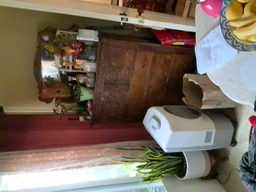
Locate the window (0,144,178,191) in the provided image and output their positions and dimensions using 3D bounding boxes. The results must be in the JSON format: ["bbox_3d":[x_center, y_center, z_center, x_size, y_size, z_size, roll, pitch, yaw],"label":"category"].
[{"bbox_3d":[-0.280,0.870,1.710,1.210,1.450,0.160,-125,40,-59],"label":"window"}]

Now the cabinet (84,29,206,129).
[{"bbox_3d":[0.130,-0.190,2.560,0.590,1.160,0.960,-122,38,-57],"label":"cabinet"}]
